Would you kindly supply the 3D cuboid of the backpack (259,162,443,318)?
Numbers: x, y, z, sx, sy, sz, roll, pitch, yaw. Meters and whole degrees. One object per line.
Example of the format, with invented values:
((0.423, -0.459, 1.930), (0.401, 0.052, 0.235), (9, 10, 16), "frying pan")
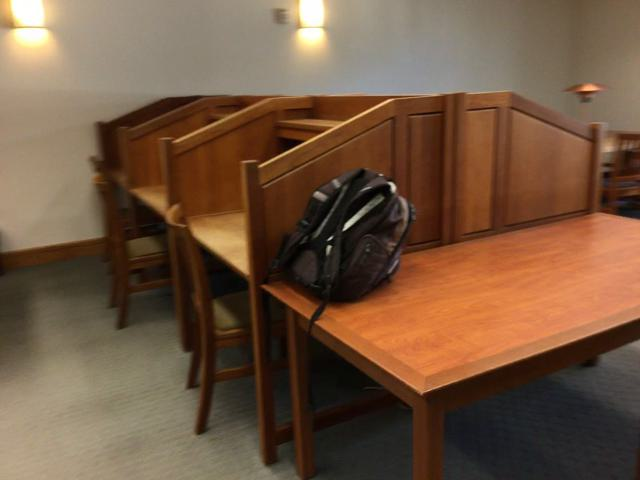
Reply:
((0.100, -0.030, 1.970), (0.470, 0.390, 0.400), (-10, 15, -24), "backpack")
